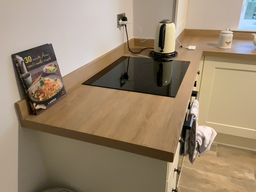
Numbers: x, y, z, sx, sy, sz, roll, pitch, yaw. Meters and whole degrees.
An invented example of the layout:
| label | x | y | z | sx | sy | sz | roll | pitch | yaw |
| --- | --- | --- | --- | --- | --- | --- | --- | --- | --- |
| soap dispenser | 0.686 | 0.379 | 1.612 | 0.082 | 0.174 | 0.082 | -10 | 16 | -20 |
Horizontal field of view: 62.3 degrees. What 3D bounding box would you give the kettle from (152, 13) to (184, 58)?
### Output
| label | x | y | z | sx | sy | sz | roll | pitch | yaw |
| --- | --- | --- | --- | --- | --- | --- | --- | --- | --- |
| kettle | 0.300 | -0.460 | 1.600 | 0.170 | 0.280 | 0.220 | 10 | 29 | 21 |
